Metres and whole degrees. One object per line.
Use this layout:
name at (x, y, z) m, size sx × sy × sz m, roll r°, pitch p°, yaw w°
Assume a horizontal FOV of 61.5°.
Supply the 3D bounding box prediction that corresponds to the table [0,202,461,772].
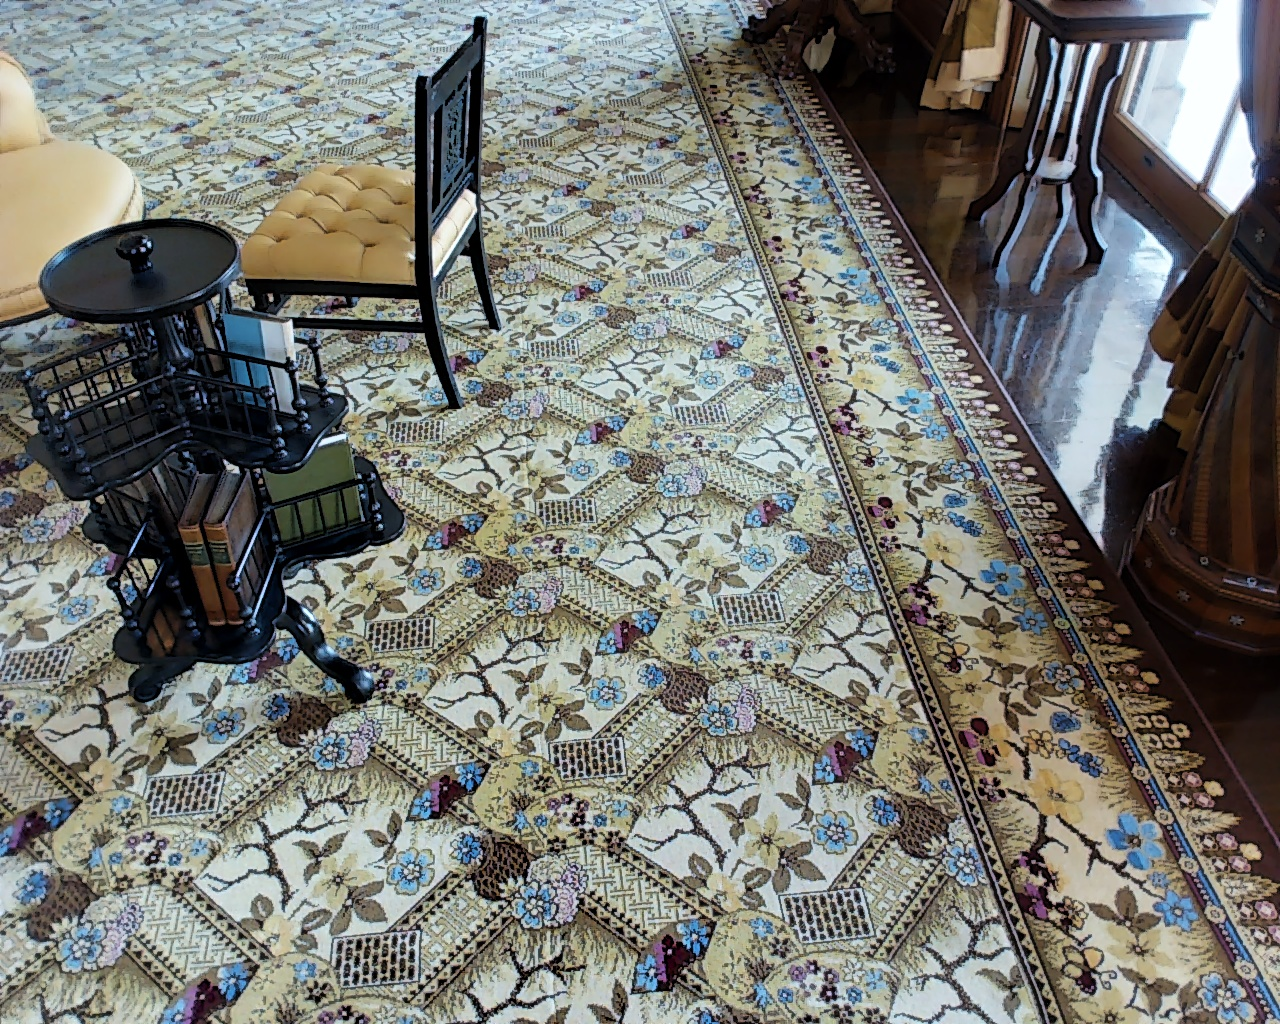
table at (-0.660, -0.050, 1.820) m, size 0.510 × 0.680 × 0.540 m, roll -15°, pitch 44°, yaw -15°

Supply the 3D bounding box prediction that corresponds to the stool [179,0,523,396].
stool at (-0.620, -0.760, 2.560) m, size 0.520 × 0.750 × 0.550 m, roll 4°, pitch 42°, yaw 5°

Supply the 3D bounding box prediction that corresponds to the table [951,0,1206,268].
table at (1.190, -1.140, 3.040) m, size 0.340 × 0.680 × 0.560 m, roll -3°, pitch 42°, yaw -3°
